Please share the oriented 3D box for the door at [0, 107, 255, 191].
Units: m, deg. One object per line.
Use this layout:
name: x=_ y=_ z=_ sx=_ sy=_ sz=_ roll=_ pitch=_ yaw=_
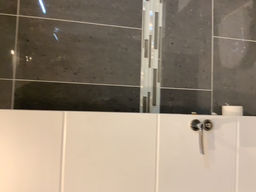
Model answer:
door: x=0.290 y=0.450 z=0.950 sx=0.030 sy=2.030 sz=0.740 roll=-171 pitch=84 yaw=-78
